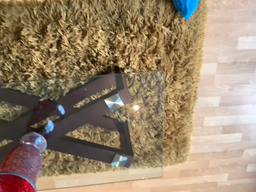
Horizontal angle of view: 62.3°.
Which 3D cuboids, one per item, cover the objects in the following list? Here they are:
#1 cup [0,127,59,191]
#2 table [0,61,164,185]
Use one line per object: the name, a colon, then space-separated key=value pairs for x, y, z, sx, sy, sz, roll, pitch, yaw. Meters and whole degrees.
cup: x=-0.360 y=0.240 z=0.740 sx=0.170 sy=0.210 sz=0.170 roll=-1 pitch=115 yaw=-6
table: x=-0.370 y=0.110 z=0.970 sx=0.980 sy=0.320 sz=0.430 roll=-3 pitch=115 yaw=-5
